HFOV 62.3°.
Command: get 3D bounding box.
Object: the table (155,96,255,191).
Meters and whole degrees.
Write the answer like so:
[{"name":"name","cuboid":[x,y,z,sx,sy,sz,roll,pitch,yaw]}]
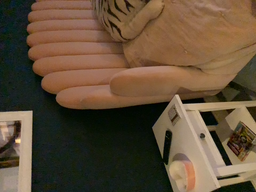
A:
[{"name":"table","cuboid":[0.580,0.280,1.230,0.370,0.660,0.400,111,149,-48]}]
